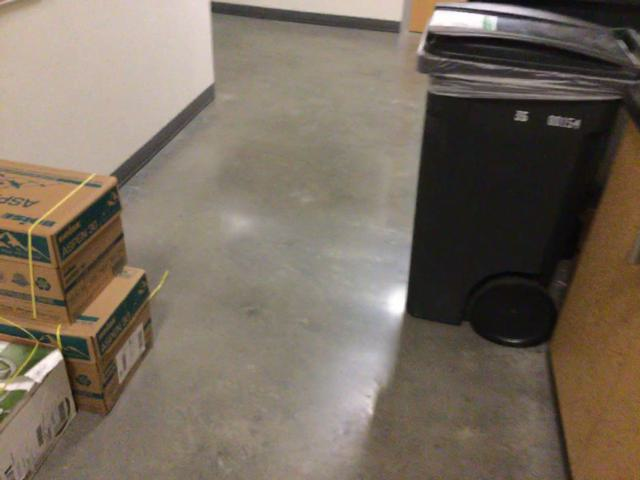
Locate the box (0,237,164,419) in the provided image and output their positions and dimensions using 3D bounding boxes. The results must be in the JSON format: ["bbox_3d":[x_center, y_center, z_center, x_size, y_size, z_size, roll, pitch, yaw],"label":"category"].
[{"bbox_3d":[-0.770,0.230,1.630,0.530,0.280,0.330,9,32,8],"label":"box"}]

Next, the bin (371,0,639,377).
[{"bbox_3d":[0.610,-0.210,1.830,0.720,0.930,0.680,9,32,8],"label":"bin"}]
